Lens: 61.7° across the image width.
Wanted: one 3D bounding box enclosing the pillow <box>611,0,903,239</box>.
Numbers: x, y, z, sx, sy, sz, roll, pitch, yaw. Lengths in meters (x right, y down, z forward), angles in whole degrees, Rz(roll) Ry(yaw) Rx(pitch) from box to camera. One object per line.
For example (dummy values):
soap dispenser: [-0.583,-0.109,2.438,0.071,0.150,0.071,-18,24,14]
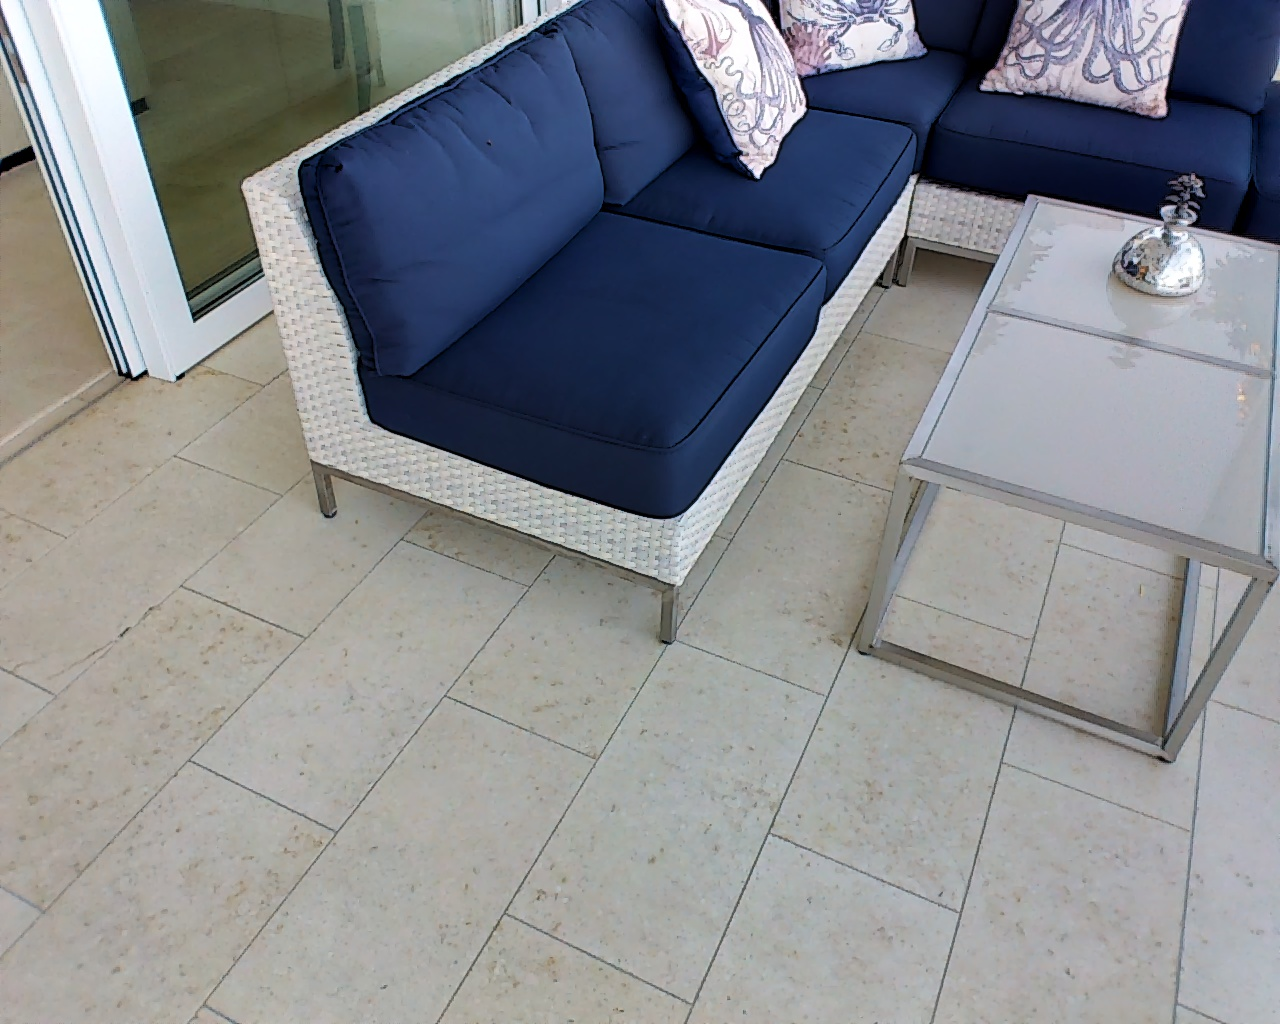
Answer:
pillow: [0.290,-1.050,2.560,0.370,0.460,0.590,33,47,5]
